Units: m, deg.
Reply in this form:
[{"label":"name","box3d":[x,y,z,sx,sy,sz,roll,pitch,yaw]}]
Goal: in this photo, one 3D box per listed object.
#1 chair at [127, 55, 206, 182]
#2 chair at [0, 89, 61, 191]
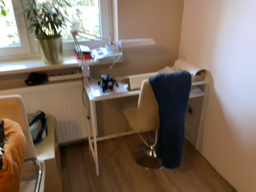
[{"label":"chair","box3d":[0.270,0.180,1.820,0.420,0.920,0.460,-9,28,-18]},{"label":"chair","box3d":[-0.630,0.540,1.100,0.470,0.920,0.640,-8,28,-17]}]
